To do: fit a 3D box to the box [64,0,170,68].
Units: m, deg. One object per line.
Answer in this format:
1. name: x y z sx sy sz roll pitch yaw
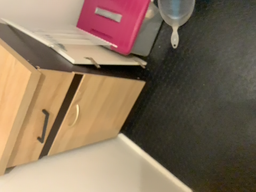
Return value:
1. box: -0.070 -0.450 1.300 0.470 0.300 0.350 33 106 26
